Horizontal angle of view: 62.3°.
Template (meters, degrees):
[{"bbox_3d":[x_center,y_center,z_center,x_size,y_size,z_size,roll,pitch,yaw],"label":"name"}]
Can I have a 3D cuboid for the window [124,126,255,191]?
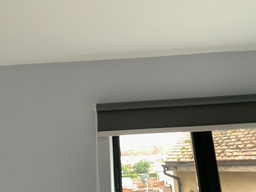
[{"bbox_3d":[0.580,0.840,1.380,1.140,1.230,0.100,-5,-14,2],"label":"window"}]
